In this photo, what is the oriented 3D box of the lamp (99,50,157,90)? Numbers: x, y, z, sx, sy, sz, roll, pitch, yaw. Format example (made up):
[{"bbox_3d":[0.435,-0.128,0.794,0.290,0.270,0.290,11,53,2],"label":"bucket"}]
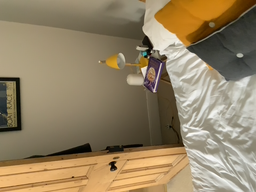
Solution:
[{"bbox_3d":[-0.010,-0.190,1.670,0.290,0.350,0.220,-21,71,62],"label":"lamp"}]

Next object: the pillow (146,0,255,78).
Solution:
[{"bbox_3d":[0.370,-0.290,0.970,0.390,0.400,0.160,-9,55,45],"label":"pillow"}]
